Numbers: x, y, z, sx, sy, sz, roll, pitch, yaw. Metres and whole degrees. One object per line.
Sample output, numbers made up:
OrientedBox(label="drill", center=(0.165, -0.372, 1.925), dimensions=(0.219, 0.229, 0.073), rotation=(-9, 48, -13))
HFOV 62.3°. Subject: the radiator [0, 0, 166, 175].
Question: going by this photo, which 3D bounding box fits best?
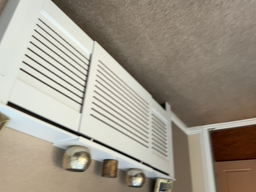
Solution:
OrientedBox(label="radiator", center=(-0.100, 0.070, 1.550), dimensions=(0.120, 0.710, 1.680), rotation=(-13, 147, 28))
